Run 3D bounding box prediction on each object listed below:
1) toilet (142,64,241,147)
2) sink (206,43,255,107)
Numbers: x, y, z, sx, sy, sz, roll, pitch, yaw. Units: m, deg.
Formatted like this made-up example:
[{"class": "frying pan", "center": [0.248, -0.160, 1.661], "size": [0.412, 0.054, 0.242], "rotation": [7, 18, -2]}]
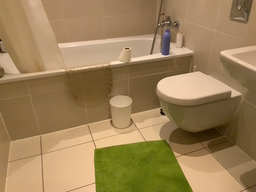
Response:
[{"class": "toilet", "center": [0.460, 0.050, 1.660], "size": [0.580, 0.410, 0.380], "rotation": [-11, 32, -17]}, {"class": "sink", "center": [0.730, -0.090, 1.000], "size": [0.420, 0.160, 0.540], "rotation": [-11, 32, -17]}]
